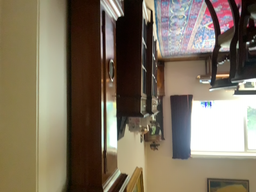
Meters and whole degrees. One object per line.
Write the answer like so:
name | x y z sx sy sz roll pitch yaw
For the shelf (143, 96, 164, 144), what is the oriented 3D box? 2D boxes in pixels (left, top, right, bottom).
shelf | 0.600 0.520 4.840 0.430 1.040 0.430 -1 178 12

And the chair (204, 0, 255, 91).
chair | 1.070 -0.500 1.950 0.540 0.880 0.470 0 178 -3
